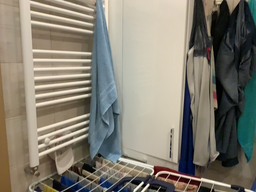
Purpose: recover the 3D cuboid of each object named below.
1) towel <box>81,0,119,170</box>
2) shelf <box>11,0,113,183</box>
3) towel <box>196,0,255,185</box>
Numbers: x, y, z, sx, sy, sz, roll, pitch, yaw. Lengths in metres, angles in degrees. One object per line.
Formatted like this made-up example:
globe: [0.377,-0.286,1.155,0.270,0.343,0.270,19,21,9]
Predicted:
towel: [-0.170,-0.060,1.350,0.160,1.030,0.160,7,11,32]
shelf: [-0.320,-0.230,1.210,0.140,1.240,0.580,7,12,33]
towel: [0.680,-0.040,1.350,0.380,1.130,0.130,7,12,32]
